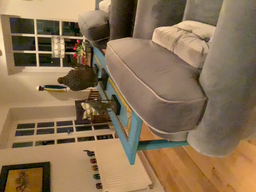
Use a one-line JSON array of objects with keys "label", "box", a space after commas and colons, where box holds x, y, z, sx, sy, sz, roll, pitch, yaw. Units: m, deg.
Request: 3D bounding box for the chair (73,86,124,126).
[{"label": "chair", "box": [-0.610, 0.210, 4.190, 0.620, 0.840, 0.570, 128, 136, -62]}]

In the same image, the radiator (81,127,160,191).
[{"label": "radiator", "box": [-0.170, 0.850, 2.960, 1.120, 0.810, 0.140, -125, 38, -57]}]
